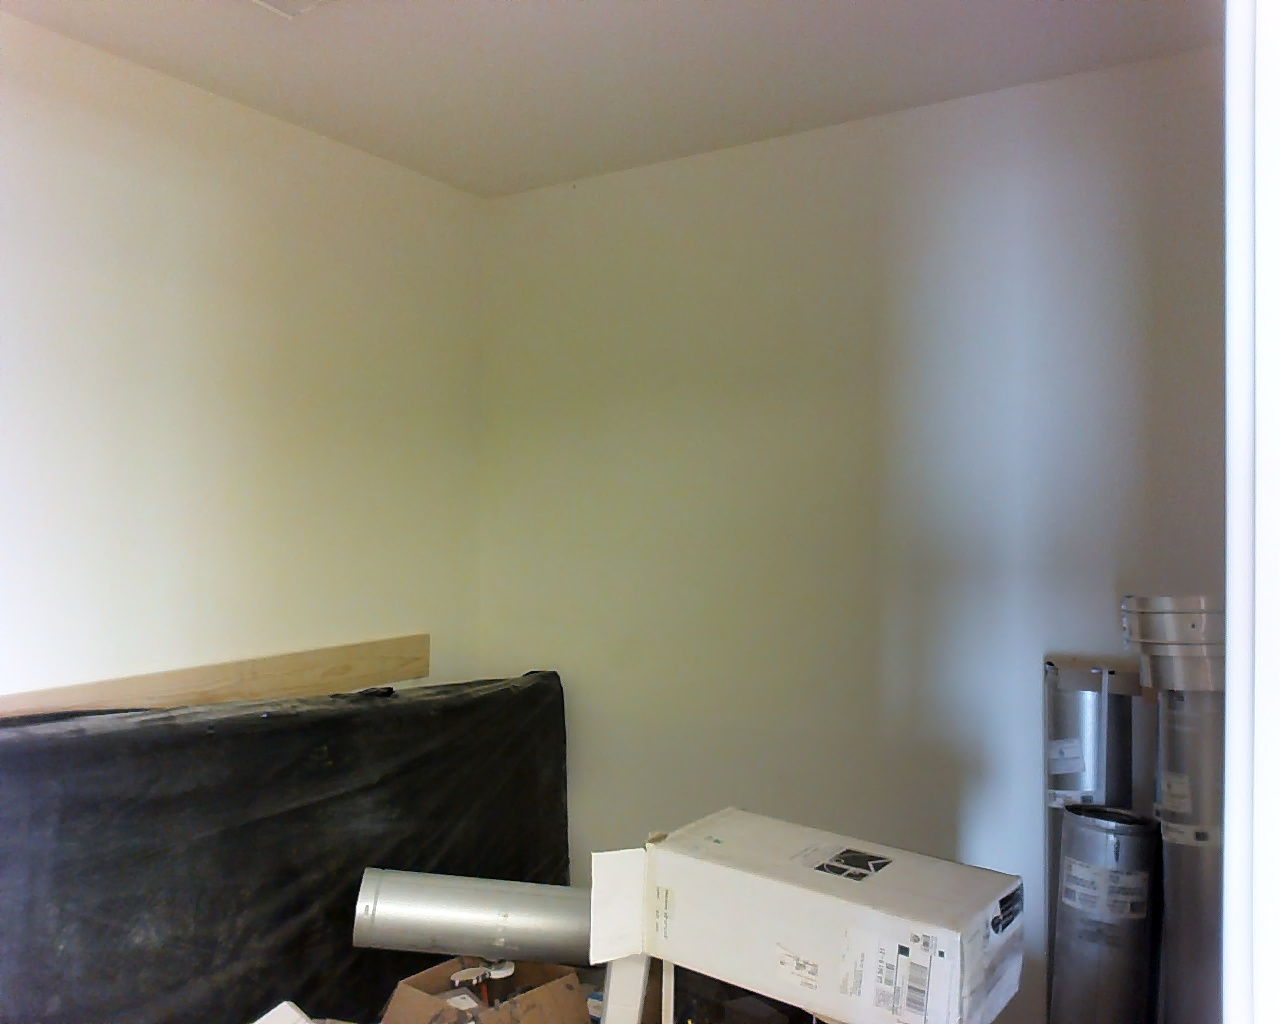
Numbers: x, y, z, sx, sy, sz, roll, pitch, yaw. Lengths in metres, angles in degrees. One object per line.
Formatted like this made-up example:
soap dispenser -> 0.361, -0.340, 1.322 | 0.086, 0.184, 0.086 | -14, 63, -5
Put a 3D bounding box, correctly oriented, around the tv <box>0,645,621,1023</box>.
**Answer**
tv -> -0.900, 0.870, 2.760 | 0.220, 0.870, 2.240 | 11, 5, 38
